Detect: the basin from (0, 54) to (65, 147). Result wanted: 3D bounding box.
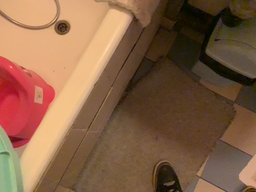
[{"bbox_3d":[-0.440,-0.010,0.730,0.320,0.200,0.230,25,82,4],"label":"basin"}]
